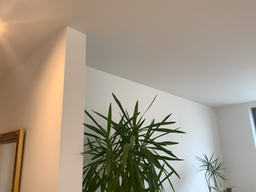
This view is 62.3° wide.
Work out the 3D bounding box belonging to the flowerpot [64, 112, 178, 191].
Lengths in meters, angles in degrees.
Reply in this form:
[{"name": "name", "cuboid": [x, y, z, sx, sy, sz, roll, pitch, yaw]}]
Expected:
[{"name": "flowerpot", "cuboid": [-0.050, 0.990, 1.770, 0.660, 1.550, 0.710, -17, -22, 42]}]
